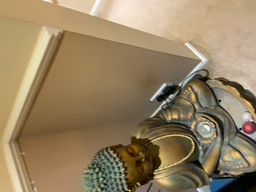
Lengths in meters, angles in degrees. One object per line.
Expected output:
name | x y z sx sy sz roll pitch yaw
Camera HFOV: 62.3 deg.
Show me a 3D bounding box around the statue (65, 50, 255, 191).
statue | 0.260 0.230 0.980 0.560 0.780 0.530 -51 58 32
